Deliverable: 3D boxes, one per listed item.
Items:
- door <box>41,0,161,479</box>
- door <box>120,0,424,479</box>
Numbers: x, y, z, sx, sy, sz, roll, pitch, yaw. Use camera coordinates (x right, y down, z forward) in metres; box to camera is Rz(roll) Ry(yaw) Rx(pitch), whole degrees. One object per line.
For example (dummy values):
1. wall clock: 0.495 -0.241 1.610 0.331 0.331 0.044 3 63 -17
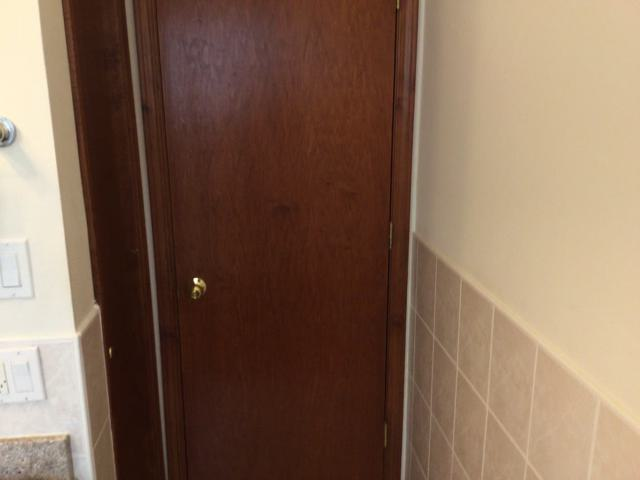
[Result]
1. door: -0.540 0.150 1.530 0.070 2.020 0.430 -2 14 -7
2. door: -0.120 0.020 1.830 0.850 2.110 0.070 -2 14 -8
